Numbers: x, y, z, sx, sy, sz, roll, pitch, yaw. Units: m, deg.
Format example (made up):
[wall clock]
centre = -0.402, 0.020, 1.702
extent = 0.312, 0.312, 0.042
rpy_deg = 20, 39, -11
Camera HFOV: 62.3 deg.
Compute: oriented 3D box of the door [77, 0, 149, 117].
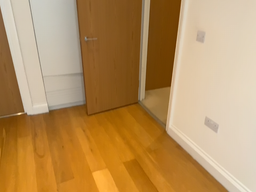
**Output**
[door]
centre = -0.150, -0.720, 2.450
extent = 0.810, 1.990, 0.100
rpy_deg = -13, 30, -26
